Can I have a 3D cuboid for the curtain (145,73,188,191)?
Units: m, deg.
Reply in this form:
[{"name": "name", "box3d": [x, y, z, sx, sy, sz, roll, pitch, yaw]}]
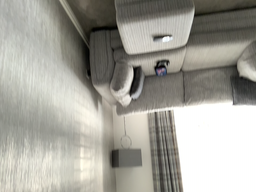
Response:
[{"name": "curtain", "box3d": [0.600, 0.710, 3.360, 0.430, 2.190, 0.170, -6, 163, 4]}]
